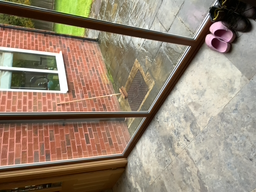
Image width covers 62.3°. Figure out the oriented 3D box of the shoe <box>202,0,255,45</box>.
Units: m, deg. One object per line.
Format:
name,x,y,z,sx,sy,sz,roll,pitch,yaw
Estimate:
shoe,0.780,-0.590,1.570,0.240,0.210,0.330,-61,38,42
